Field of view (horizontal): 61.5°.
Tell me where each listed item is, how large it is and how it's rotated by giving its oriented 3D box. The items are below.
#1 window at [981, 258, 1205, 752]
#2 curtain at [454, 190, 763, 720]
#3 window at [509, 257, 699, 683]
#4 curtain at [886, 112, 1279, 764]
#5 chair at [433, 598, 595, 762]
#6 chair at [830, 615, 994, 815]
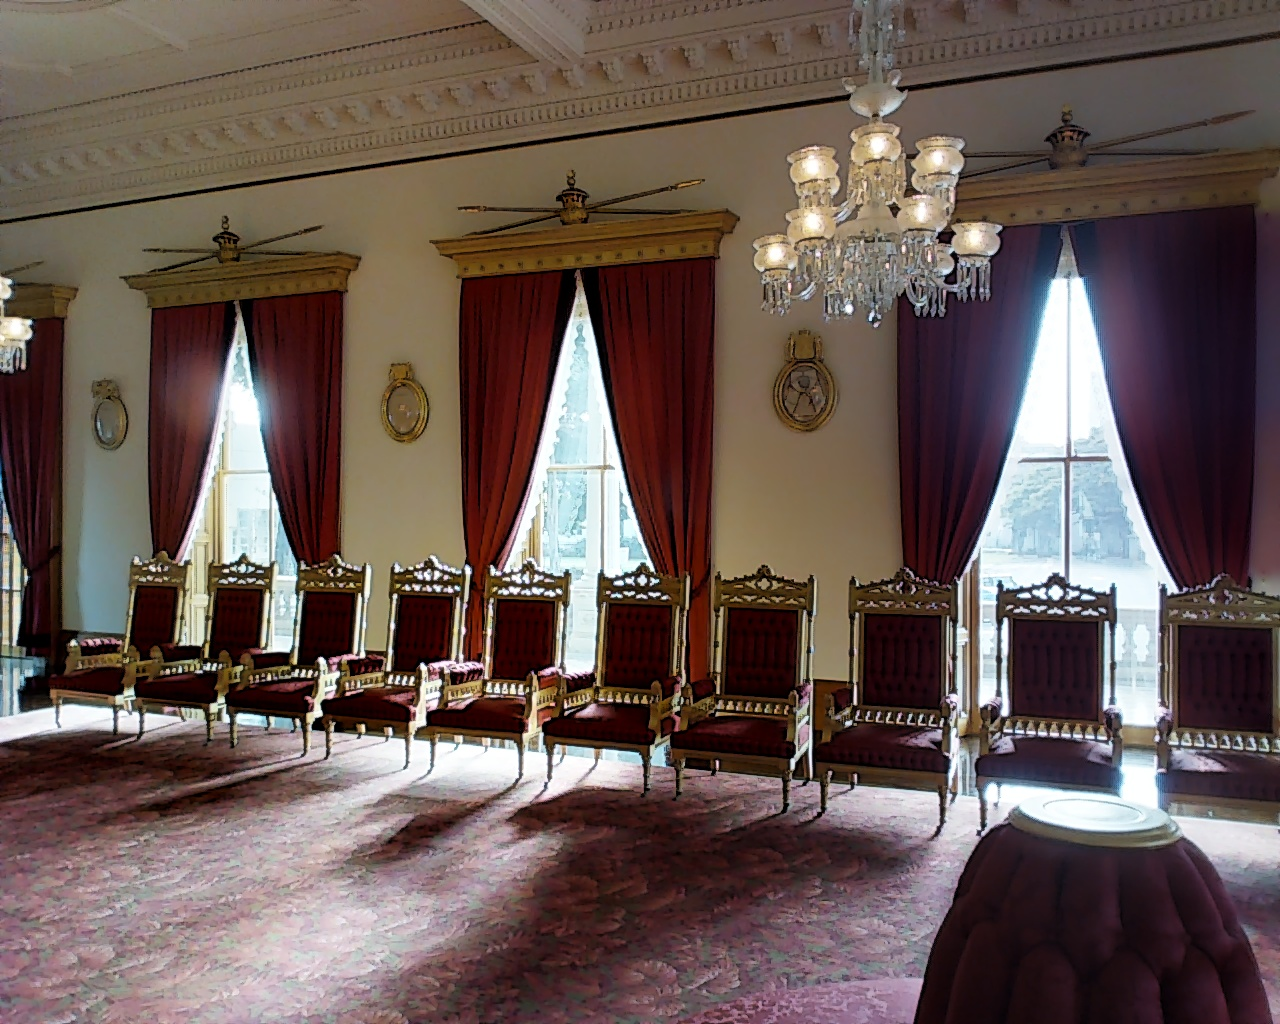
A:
[{"bbox_3d":[3.010,-0.050,7.210,1.340,3.170,0.110,1,0,23],"label":"window"},{"bbox_3d":[-0.310,-0.430,8.590,2.570,3.921,0.260,1,0,23],"label":"curtain"},{"bbox_3d":[-0.320,-0.330,8.720,1.620,3.300,0.120,1,0,23],"label":"window"},{"bbox_3d":[2.970,-0.460,7.120,2.560,3.971,0.310,1,0,23],"label":"curtain"},{"bbox_3d":[-0.780,1.020,6.760,0.760,0.880,0.690,1,0,23],"label":"chair"},{"bbox_3d":[1.470,1.050,5.770,0.750,0.900,0.630,1,0,23],"label":"chair"}]
